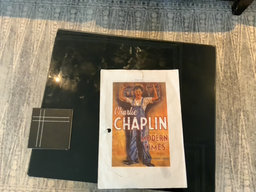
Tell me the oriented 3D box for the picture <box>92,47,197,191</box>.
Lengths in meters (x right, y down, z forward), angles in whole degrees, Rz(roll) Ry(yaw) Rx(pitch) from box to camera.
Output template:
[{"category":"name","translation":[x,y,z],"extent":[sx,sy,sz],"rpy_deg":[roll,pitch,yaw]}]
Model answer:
[{"category":"picture","translation":[0.030,0.050,0.540],"extent":[0.230,0.070,0.340],"rpy_deg":[-2,76,-2]}]
